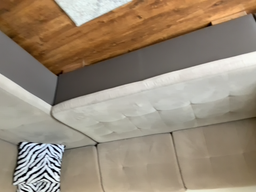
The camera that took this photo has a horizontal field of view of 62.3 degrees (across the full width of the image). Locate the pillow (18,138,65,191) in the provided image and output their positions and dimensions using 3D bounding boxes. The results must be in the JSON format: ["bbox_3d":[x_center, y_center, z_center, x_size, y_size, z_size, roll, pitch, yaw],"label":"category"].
[{"bbox_3d":[-0.810,0.660,1.960,0.360,0.470,0.190,-3,139,-25],"label":"pillow"}]
